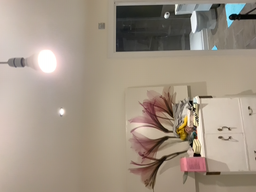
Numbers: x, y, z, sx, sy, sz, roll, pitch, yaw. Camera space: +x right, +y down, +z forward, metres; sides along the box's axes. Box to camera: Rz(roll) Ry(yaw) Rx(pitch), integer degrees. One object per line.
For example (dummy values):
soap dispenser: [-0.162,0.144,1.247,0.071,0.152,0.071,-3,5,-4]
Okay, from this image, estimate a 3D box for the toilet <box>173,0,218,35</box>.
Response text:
toilet: [1.420,-1.700,4.560,0.410,0.790,0.630,87,-178,-73]
